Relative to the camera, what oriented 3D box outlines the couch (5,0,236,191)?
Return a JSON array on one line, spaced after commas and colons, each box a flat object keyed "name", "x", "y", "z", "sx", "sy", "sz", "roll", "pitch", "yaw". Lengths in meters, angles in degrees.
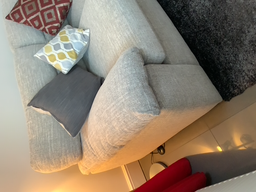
[{"name": "couch", "x": -0.240, "y": -0.150, "z": 1.510, "sx": 1.090, "sy": 0.870, "sz": 1.200, "roll": -47, "pitch": 59, "yaw": 45}]
